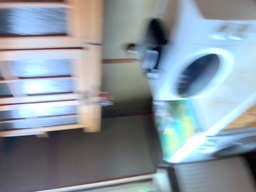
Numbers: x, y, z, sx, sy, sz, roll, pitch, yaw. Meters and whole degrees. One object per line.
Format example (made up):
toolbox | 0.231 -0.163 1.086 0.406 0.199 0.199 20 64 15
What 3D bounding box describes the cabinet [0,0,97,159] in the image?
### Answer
cabinet | -0.570 -0.400 0.730 2.770 0.880 0.320 102 160 -56
